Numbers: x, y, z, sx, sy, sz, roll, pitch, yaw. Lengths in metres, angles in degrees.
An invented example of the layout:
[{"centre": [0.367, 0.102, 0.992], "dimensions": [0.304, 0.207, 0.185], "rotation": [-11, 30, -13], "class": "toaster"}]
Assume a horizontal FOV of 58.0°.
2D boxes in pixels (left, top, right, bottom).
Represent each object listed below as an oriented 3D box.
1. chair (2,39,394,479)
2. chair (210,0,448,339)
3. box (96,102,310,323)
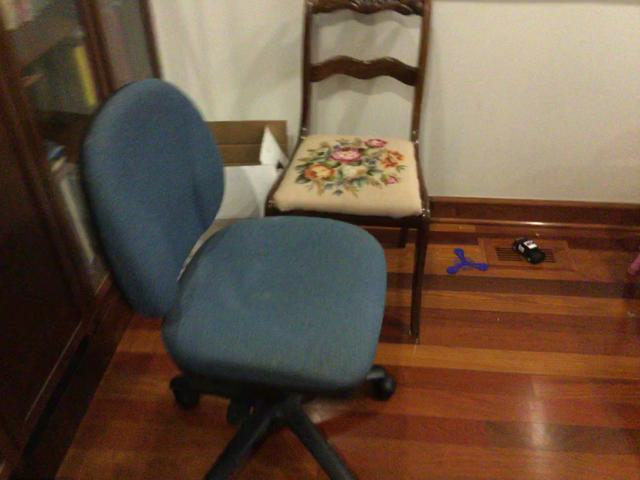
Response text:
[{"centre": [-0.120, 0.140, 1.250], "dimensions": [0.480, 0.970, 0.520], "rotation": [4, 36, 14], "class": "chair"}, {"centre": [0.080, -0.250, 1.730], "dimensions": [0.510, 0.940, 0.570], "rotation": [0, 36, 8], "class": "chair"}, {"centre": [-0.320, -0.100, 1.880], "dimensions": [0.470, 0.500, 0.530], "rotation": [0, 36, 8], "class": "box"}]
